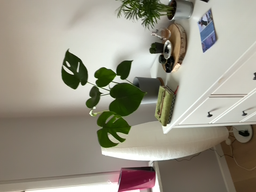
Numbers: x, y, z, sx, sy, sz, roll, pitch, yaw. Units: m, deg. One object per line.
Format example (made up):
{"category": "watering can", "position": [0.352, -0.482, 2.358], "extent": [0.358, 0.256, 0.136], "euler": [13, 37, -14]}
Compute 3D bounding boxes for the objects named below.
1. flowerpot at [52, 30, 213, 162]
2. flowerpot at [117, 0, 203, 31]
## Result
{"category": "flowerpot", "position": [-0.020, 0.000, 1.170], "extent": [0.330, 0.700, 0.590], "euler": [114, 152, -58]}
{"category": "flowerpot", "position": [0.140, -0.450, 0.980], "extent": [0.230, 0.340, 0.140], "euler": [115, 152, -59]}
